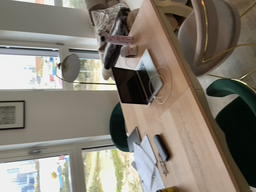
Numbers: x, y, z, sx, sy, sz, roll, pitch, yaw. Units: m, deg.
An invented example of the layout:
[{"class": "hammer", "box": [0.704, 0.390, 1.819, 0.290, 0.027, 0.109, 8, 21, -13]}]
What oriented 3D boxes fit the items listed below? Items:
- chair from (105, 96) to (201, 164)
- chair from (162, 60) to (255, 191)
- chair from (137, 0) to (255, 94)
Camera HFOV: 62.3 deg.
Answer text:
[{"class": "chair", "box": [0.220, 0.360, 2.250, 0.580, 0.730, 0.510, 129, 135, -55]}, {"class": "chair", "box": [0.710, 0.210, 1.140, 0.580, 0.750, 0.490, 121, 141, -50]}, {"class": "chair", "box": [0.560, -0.360, 1.460, 0.600, 0.740, 0.480, 132, 132, -57]}]
